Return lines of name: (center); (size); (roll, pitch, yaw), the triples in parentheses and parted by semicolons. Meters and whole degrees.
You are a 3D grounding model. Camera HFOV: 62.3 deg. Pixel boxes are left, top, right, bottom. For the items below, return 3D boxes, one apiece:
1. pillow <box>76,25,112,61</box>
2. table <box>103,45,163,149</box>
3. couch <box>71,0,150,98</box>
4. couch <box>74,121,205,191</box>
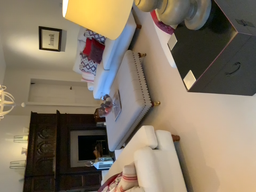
pillow: (-0.680, -1.060, 4.280); (0.530, 0.490, 0.230); (-24, 47, 19)
table: (-0.030, 0.110, 3.770); (1.680, 0.340, 1.080); (120, 146, -51)
couch: (-0.550, -1.060, 4.420); (2.310, 0.960, 1.070); (120, 147, -50)
couch: (-0.090, 1.340, 2.860); (2.180, 0.980, 1.050); (118, 148, -49)
